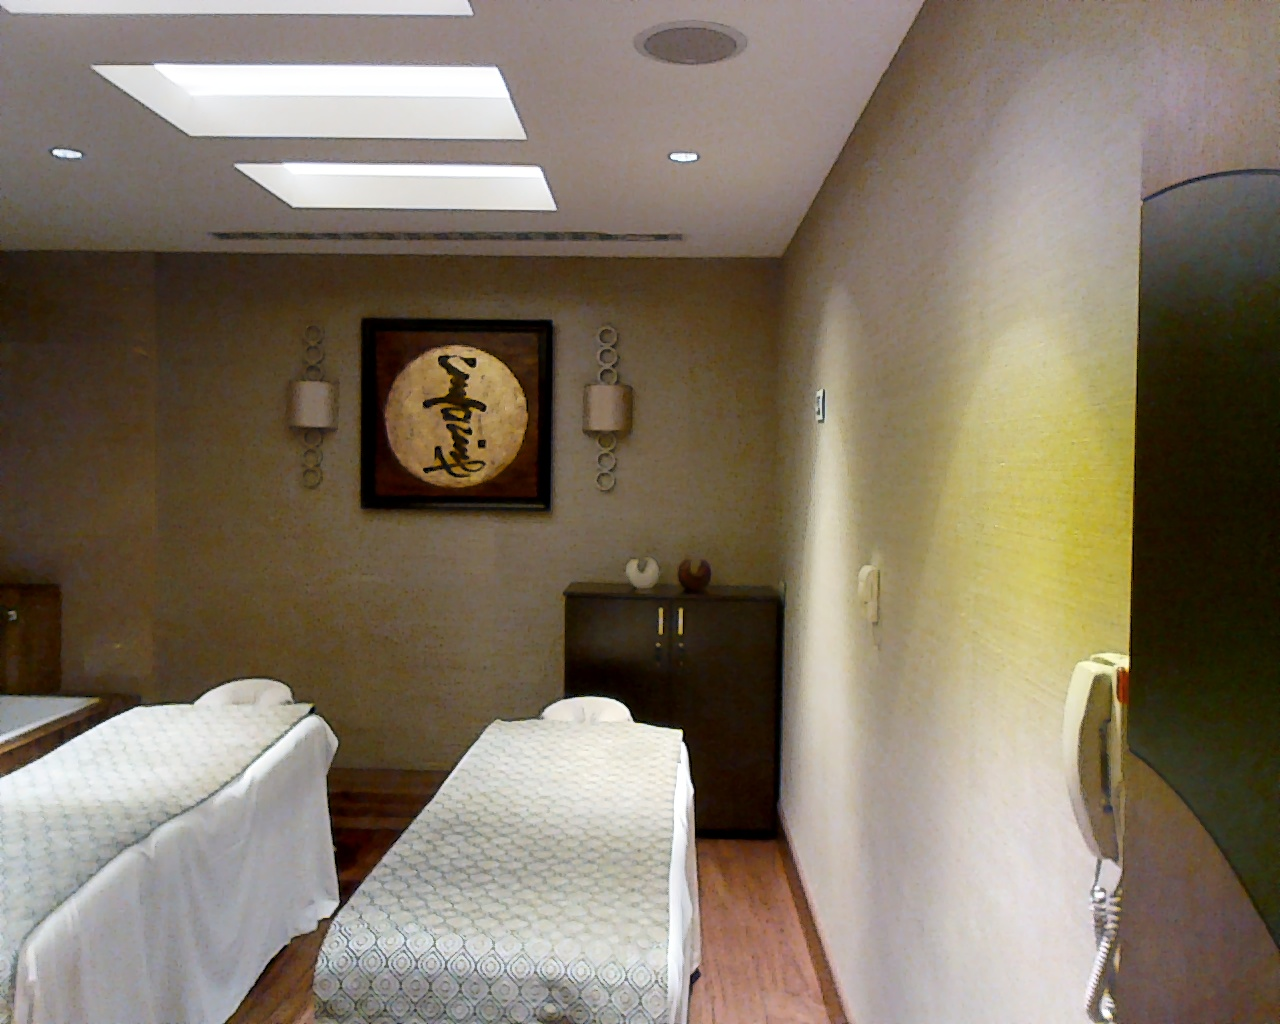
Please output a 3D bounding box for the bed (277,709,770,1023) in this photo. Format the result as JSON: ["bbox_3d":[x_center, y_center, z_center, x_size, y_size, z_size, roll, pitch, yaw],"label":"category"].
[{"bbox_3d":[-0.190,1.170,3.120,0.920,0.740,2.220,1,1,2],"label":"bed"}]

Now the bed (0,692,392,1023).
[{"bbox_3d":[-1.480,1.130,3.200,0.930,0.780,2.160,1,1,2],"label":"bed"}]
